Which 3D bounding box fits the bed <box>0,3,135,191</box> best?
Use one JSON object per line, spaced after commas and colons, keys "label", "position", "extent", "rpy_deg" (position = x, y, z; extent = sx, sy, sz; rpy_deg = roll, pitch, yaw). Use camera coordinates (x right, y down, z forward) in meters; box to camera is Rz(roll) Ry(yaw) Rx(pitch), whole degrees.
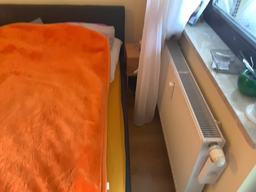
{"label": "bed", "position": [-0.880, 0.040, 1.580], "extent": [1.730, 0.780, 2.180], "rpy_deg": [0, 39, -2]}
